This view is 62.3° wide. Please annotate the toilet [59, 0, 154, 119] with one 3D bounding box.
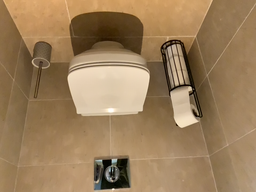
[{"bbox_3d":[-0.110,-0.160,1.150,0.370,0.380,0.540,-2,153,-5],"label":"toilet"}]
